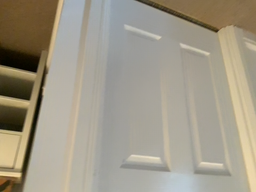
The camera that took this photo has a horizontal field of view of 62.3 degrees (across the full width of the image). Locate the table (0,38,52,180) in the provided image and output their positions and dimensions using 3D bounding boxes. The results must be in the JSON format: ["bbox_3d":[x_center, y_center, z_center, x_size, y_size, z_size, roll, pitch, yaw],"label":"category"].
[{"bbox_3d":[-0.780,0.120,1.410,0.340,0.780,0.530,12,153,-22],"label":"table"}]
